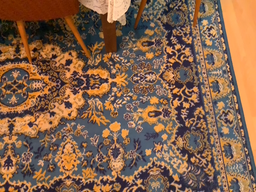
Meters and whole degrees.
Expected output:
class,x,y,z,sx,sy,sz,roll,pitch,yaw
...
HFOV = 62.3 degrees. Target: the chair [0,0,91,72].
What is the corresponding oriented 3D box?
class,x,y,z,sx,sy,sz,roll,pitch,yaw
chair,-0.450,-0.520,1.100,0.400,0.780,0.510,-4,75,-3
